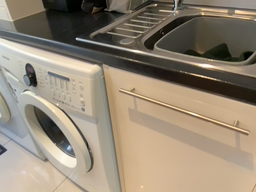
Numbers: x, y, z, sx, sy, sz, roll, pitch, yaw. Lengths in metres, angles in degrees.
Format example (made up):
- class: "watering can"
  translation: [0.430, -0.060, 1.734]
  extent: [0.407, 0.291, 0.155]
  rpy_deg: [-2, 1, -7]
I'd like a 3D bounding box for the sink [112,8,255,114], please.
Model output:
- class: "sink"
  translation: [0.220, -0.170, 0.770]
  extent: [0.390, 0.160, 0.390]
  rpy_deg: [18, 42, 27]
